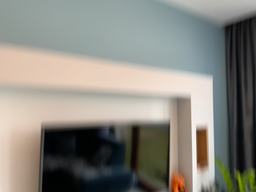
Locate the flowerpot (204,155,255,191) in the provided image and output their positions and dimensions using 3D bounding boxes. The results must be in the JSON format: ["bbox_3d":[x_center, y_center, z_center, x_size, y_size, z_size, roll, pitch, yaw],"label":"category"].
[{"bbox_3d":[1.020,0.980,1.920,0.520,0.740,0.380,2,-4,-34],"label":"flowerpot"}]
